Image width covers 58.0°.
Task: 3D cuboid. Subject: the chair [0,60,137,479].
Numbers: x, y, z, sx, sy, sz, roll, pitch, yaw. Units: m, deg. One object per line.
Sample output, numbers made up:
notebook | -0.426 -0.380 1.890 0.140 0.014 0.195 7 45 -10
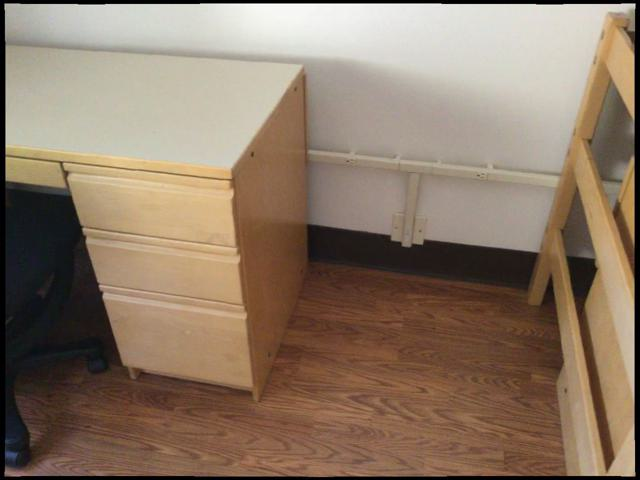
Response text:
chair | -0.928 0.070 1.460 0.509 0.861 0.600 8 40 11
